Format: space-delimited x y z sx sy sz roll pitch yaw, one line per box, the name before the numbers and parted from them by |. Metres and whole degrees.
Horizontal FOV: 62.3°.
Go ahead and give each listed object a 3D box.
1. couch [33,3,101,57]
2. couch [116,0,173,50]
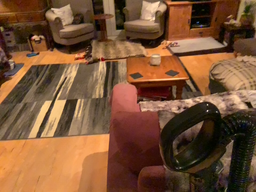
couch | -1.120 -1.290 4.010 0.780 0.710 0.820 21 39 33
couch | 0.330 -1.390 4.070 0.790 0.690 0.750 17 37 28
